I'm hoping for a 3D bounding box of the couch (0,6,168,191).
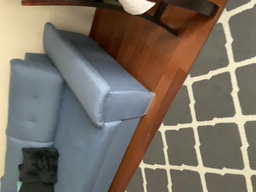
[{"bbox_3d":[-0.880,0.810,2.370,1.180,0.870,3.010,49,129,37],"label":"couch"}]
